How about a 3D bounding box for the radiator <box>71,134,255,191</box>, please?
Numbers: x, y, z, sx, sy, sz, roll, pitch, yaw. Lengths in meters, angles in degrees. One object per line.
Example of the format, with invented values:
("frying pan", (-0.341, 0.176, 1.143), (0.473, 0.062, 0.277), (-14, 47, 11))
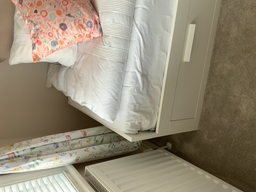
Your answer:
("radiator", (0.370, 0.480, 0.990), (1.190, 0.820, 0.150), (14, 102, 51))
